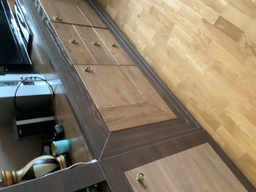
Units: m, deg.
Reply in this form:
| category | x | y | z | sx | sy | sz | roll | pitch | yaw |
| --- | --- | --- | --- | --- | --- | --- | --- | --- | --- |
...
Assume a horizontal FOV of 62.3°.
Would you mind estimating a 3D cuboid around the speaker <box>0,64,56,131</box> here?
| category | x | y | z | sx | sy | sz | roll | pitch | yaw |
| --- | --- | --- | --- | --- | --- | --- | --- | --- | --- |
| speaker | -0.650 | 0.000 | 1.310 | 0.270 | 0.280 | 0.280 | 57 | 134 | 31 |
